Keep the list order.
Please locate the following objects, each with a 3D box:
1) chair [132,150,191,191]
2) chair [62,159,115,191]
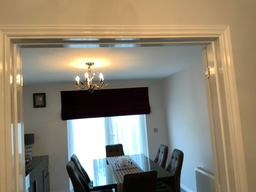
[{"bbox_3d":[0.490,1.320,3.150,0.710,0.890,0.470,-3,-6,-13],"label":"chair"},{"bbox_3d":[-0.530,1.380,2.930,0.660,0.850,0.460,-3,-4,-12],"label":"chair"}]
